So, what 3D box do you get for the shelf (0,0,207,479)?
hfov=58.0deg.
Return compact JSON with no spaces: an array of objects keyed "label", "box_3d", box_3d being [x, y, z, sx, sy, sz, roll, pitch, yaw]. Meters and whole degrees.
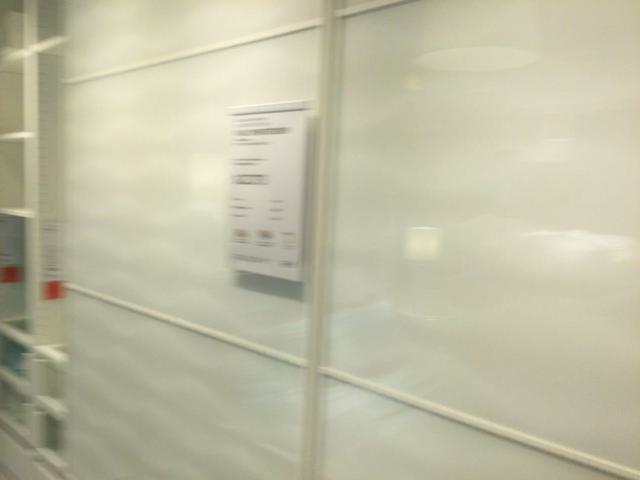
[{"label":"shelf","box_3d":[-0.910,0.120,2.170,0.960,2.240,0.480,13,16,43]}]
